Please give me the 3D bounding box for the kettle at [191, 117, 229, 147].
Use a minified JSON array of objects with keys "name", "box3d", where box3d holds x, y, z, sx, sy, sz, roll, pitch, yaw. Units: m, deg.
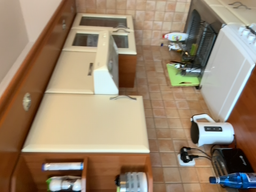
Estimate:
[{"name":"kettle","box3d":[0.540,0.240,1.420,0.140,0.170,0.140,-94,7,-49]}]
